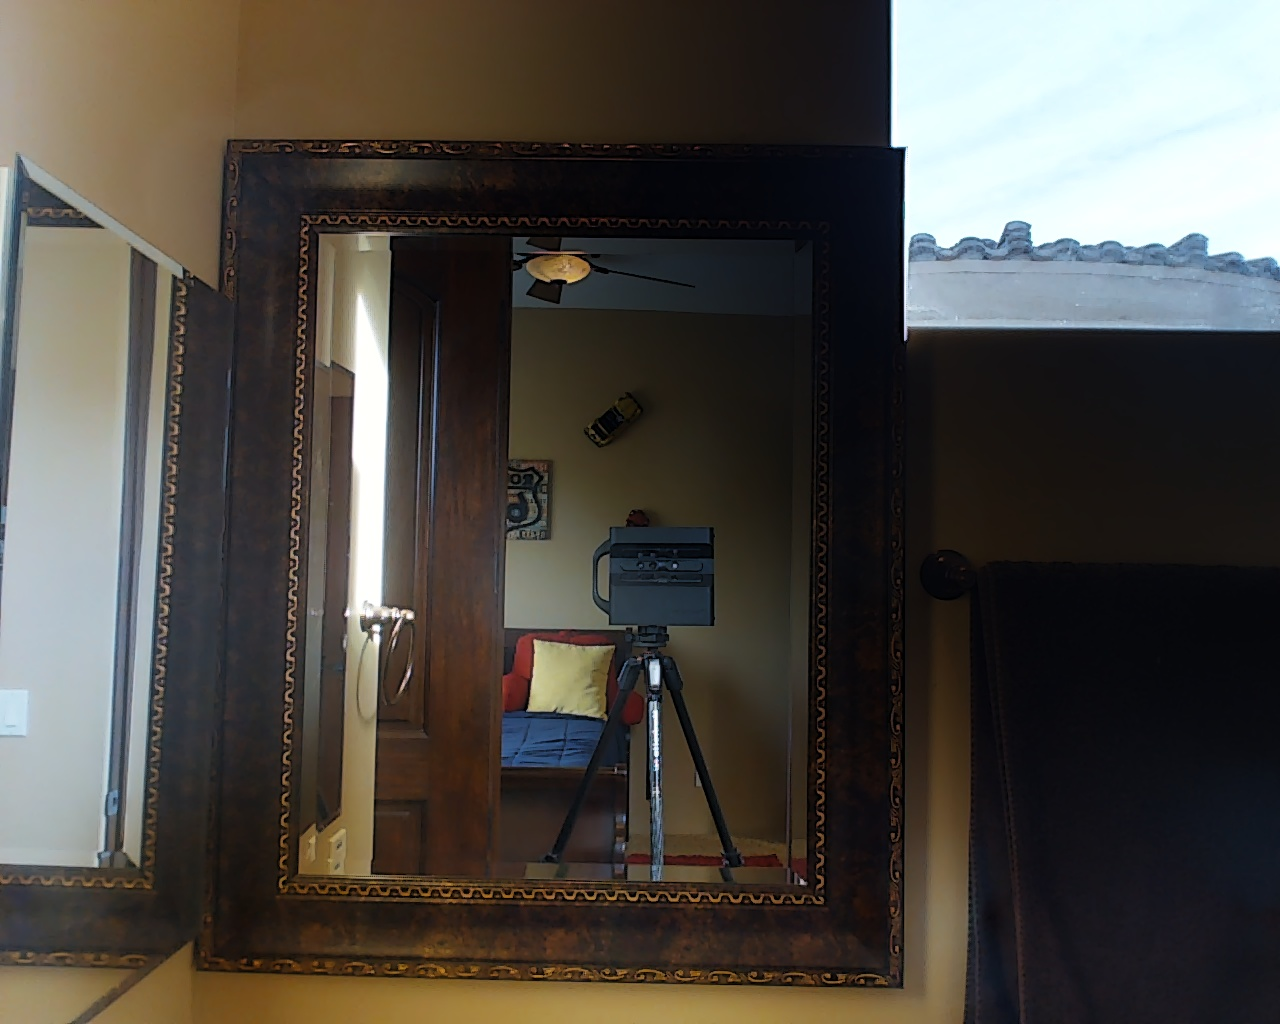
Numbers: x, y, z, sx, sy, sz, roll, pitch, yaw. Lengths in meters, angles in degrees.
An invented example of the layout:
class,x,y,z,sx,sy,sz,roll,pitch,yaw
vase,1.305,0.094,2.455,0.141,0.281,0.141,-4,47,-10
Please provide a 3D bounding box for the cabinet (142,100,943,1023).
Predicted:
class,x,y,z,sx,sy,sz,roll,pitch,yaw
cabinet,-0.090,0.040,1.130,0.770,0.900,0.130,2,-3,1

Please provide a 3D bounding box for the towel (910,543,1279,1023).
class,x,y,z,sx,sy,sz,roll,pitch,yaw
towel,0.550,0.400,1.040,0.520,0.720,0.200,2,-3,1
